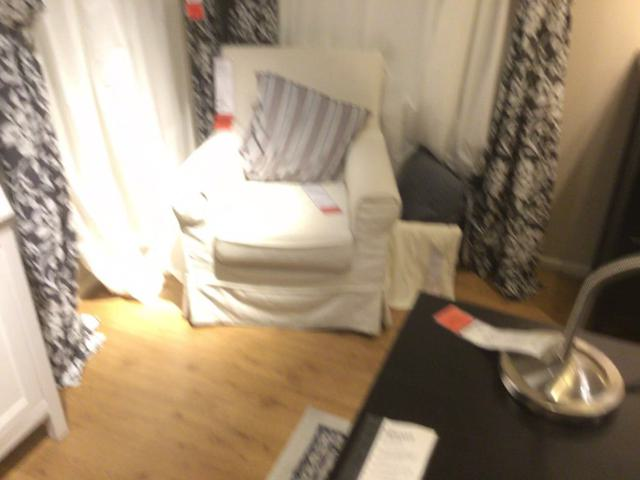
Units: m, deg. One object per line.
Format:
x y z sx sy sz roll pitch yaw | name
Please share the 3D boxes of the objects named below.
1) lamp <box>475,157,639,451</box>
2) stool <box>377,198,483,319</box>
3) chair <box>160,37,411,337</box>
0.430 0.090 0.810 0.340 0.310 0.220 12 31 23 | lamp
0.430 0.060 2.260 0.310 0.300 0.320 12 31 23 | stool
-0.070 -0.250 2.190 0.700 0.840 0.890 0 29 3 | chair
